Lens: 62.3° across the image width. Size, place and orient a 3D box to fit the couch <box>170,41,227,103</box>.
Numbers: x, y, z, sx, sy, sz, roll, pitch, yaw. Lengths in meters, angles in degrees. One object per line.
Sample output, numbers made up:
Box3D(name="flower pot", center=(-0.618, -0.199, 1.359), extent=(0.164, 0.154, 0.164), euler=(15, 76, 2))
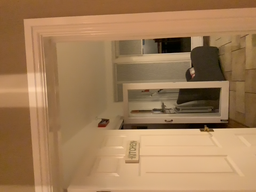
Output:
Box3D(name="couch", center=(1.370, -0.490, 4.380), extent=(0.770, 0.830, 1.010), euler=(84, -174, -55))
